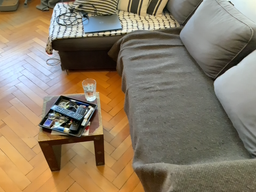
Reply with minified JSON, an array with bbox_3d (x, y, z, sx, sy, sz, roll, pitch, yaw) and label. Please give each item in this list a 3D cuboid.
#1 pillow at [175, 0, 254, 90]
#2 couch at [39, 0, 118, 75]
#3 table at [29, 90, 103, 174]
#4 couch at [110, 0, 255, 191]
[{"bbox_3d":[0.620,-0.450,1.570,0.260,0.430,0.640,-24,46,15],"label":"pillow"},{"bbox_3d":[-0.460,-0.760,2.190,0.600,0.670,0.850,-2,47,-8],"label":"couch"},{"bbox_3d":[-0.380,0.240,1.430,0.390,0.390,0.370,-3,47,-9],"label":"table"},{"bbox_3d":[0.490,-0.240,1.790,1.110,0.670,2.390,-3,47,-8],"label":"couch"}]
